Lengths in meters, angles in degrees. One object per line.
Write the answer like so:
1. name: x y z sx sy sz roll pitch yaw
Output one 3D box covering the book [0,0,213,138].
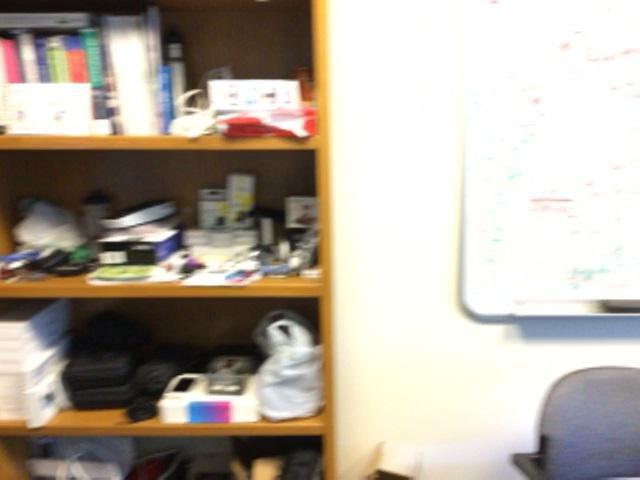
1. book: -0.540 -0.410 1.440 0.470 0.290 0.280 -1 11 2
